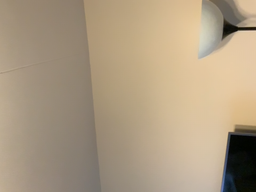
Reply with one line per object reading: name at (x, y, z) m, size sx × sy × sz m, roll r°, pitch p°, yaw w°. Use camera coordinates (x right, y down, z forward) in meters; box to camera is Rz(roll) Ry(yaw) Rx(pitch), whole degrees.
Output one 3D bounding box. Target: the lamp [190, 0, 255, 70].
lamp at (0.650, -0.300, 0.990) m, size 0.330 × 0.670 × 0.300 m, roll -46°, pitch -43°, yaw -65°
